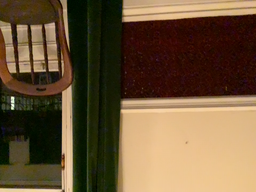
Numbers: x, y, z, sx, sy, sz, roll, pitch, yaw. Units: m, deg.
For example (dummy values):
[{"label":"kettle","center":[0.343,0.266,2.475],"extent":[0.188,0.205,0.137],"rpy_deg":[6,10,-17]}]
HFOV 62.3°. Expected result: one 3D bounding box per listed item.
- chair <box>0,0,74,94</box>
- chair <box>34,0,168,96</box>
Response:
[{"label":"chair","center":[-0.630,-0.460,1.220],"extent":[0.450,0.840,0.570],"rpy_deg":[-2,176,4]},{"label":"chair","center":[-0.110,-0.460,1.200],"extent":[0.580,0.870,0.530],"rpy_deg":[-2,176,4]}]
